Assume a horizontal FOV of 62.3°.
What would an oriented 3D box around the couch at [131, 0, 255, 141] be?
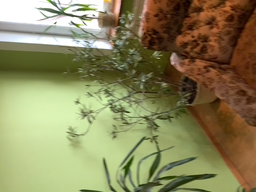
[{"bbox_3d":[0.640,-0.360,1.270,0.880,0.920,0.780,-113,29,-51],"label":"couch"}]
